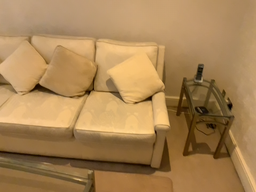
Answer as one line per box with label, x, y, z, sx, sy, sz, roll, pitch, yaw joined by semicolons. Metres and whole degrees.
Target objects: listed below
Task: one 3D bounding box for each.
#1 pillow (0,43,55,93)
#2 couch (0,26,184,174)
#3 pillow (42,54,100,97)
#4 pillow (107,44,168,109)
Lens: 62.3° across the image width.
pillow;-0.890;-0.240;1.870;0.360;0.310;0.160;21;-3;-43
couch;-0.610;-0.040;1.910;1.920;0.810;0.940;5;33;1
pillow;-0.480;-0.170;1.880;0.420;0.370;0.160;4;58;-1
pillow;0.100;-0.160;1.880;0.390;0.410;0.180;-46;49;-3
